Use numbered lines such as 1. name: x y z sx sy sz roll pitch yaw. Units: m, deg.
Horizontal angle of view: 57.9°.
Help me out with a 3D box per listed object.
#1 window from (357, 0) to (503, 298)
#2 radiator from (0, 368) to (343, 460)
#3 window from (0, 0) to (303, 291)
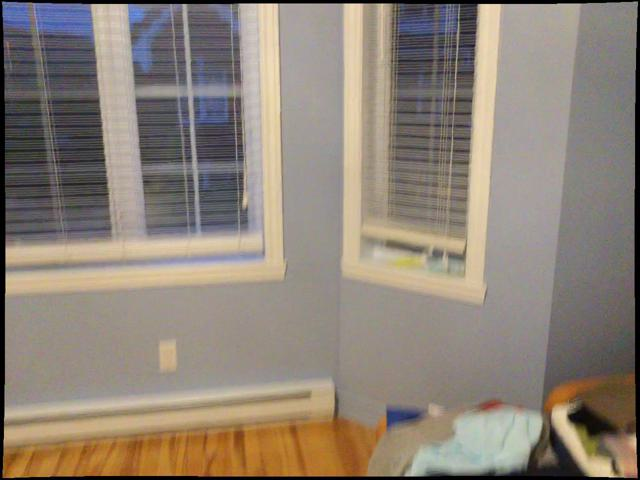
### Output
1. window: 0.390 -0.490 2.110 0.440 1.331 0.240 10 19 34
2. radiator: -0.759 0.731 2.400 1.718 0.200 0.090 -4 16 -8
3. window: -0.769 -0.531 2.210 1.349 1.381 0.210 -4 16 -8
